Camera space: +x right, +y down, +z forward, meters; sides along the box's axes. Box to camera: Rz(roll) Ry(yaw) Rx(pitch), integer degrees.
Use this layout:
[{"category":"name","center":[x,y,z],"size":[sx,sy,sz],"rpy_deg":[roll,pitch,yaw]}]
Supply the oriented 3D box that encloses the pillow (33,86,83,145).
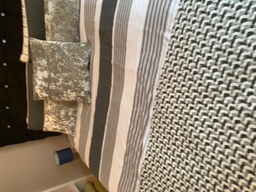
[{"category":"pillow","center":[-0.590,0.170,1.850],"size":[0.130,0.280,0.420],"rpy_deg":[17,134,29]}]

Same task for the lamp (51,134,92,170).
[{"category":"lamp","center":[-0.630,0.610,2.360],"size":[0.250,0.370,0.200],"rpy_deg":[31,119,45]}]

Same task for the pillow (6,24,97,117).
[{"category":"pillow","center":[-0.540,-0.190,1.640],"size":[0.190,0.480,0.500],"rpy_deg":[2,137,31]}]
